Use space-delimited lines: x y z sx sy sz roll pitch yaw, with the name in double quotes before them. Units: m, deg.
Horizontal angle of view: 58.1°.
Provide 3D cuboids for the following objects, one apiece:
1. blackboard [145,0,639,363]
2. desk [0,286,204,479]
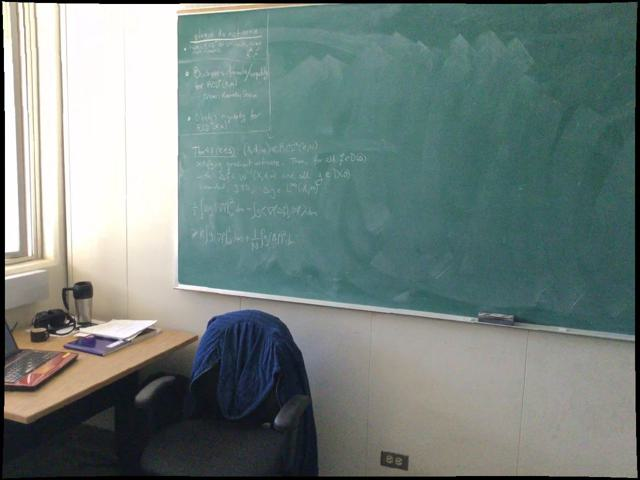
"blackboard" 0.519 -0.291 2.160 2.604 1.323 0.190 4 10 20
"desk" -1.107 0.752 2.380 0.808 0.852 1.000 4 10 20
